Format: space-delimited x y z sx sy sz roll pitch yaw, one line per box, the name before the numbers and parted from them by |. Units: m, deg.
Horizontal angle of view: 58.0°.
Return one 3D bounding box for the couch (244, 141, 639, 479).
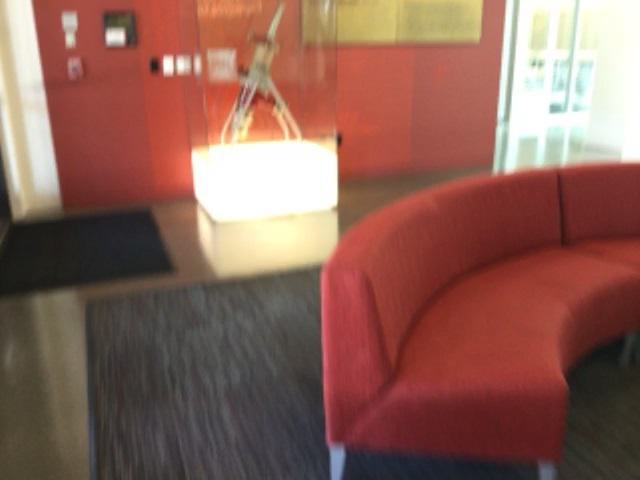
couch | 1.300 0.120 2.440 2.950 0.770 1.200 -10 20 -19
